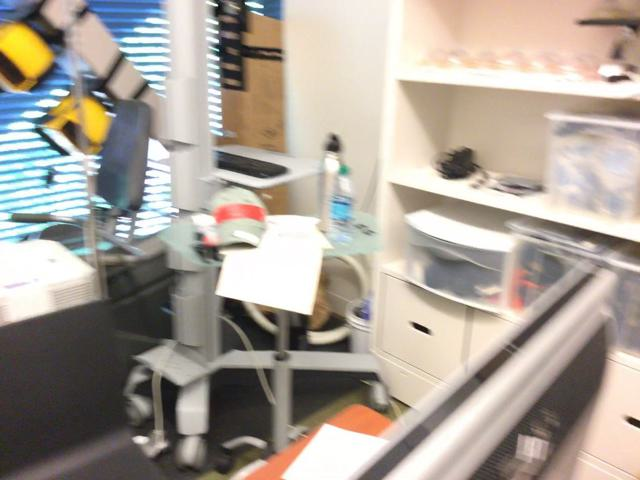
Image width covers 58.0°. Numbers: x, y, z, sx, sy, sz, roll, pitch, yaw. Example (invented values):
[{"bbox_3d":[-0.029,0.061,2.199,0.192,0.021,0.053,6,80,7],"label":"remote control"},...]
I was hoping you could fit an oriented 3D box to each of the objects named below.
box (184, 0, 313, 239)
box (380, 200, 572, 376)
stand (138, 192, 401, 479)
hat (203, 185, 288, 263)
[{"bbox_3d":[-0.320,-0.570,2.740,0.440,1.020,0.330,-15,21,-40],"label":"box"},{"bbox_3d":[0.530,0.130,2.030,0.390,0.420,0.500,-15,21,-40],"label":"box"},{"bbox_3d":[-0.130,0.390,1.670,0.490,0.930,0.510,-15,21,-40],"label":"stand"},{"bbox_3d":[-0.200,-0.050,1.520,0.170,0.140,0.230,-7,17,-18],"label":"hat"}]
